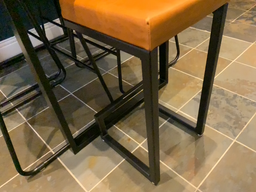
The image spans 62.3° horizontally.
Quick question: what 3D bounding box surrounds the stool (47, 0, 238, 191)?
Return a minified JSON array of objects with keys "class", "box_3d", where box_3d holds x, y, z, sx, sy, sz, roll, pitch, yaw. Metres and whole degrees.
[{"class":"stool","box_3d":[0.070,-0.070,0.820,0.400,0.690,0.400,-35,48,-28]}]
